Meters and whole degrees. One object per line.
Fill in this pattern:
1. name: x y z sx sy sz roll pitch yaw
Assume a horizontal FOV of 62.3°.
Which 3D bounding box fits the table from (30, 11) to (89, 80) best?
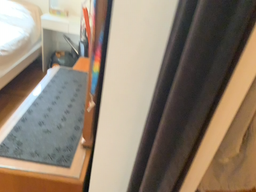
1. table: -0.970 -0.730 3.080 0.650 0.760 0.500 9 31 -5
